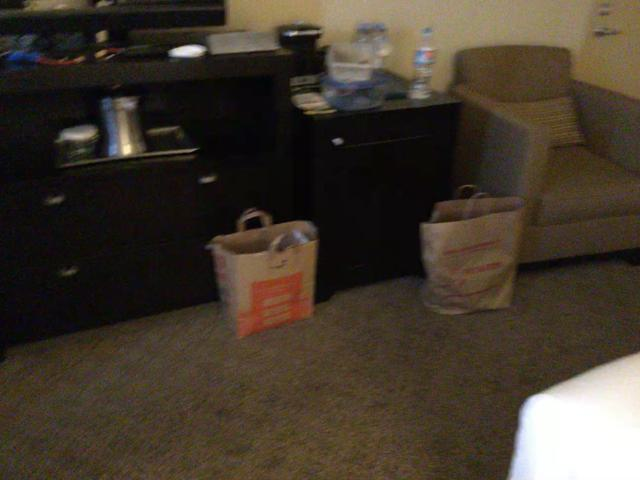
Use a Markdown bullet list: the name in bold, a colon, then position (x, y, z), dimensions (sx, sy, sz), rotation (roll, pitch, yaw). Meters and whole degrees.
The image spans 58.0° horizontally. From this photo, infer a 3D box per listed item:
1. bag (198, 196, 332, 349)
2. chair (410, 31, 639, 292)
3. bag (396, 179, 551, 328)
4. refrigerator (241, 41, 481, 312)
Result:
- **bag**: position (-0.200, 0.110, 2.120), dimensions (0.410, 0.420, 0.250), rotation (-11, 31, -20)
- **chair**: position (1.030, -0.420, 2.610), dimensions (0.880, 0.830, 0.940), rotation (-6, 29, -12)
- **bag**: position (0.580, 0.040, 2.260), dimensions (0.440, 0.420, 0.300), rotation (-11, 31, -20)
- **refrigerator**: position (0.120, -0.310, 2.430), dimensions (0.700, 0.870, 0.660), rotation (-11, 31, -20)
